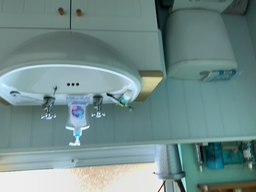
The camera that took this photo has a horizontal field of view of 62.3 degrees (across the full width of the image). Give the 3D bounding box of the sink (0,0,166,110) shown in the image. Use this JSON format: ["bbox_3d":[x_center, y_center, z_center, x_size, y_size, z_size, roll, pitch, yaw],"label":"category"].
[{"bbox_3d":[-0.230,-0.110,0.840,0.590,0.200,0.550,-1,164,-9],"label":"sink"}]
